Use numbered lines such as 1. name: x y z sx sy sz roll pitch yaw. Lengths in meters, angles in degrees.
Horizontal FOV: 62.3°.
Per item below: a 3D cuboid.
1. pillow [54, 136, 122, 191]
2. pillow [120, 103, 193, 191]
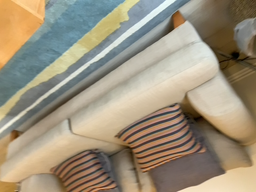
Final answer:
1. pillow: -0.340 0.670 1.670 0.160 0.390 0.570 23 94 -45
2. pillow: 0.170 0.300 1.330 0.090 0.350 0.490 29 75 -37
